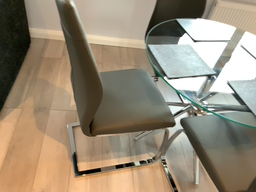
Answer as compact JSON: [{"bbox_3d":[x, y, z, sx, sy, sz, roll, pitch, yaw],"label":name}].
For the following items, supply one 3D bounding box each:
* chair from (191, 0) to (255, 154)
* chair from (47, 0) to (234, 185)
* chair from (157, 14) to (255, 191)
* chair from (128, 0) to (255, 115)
[{"bbox_3d":[0.950,-0.110,1.420,0.540,1.020,0.450,-4,47,-18],"label":"chair"},{"bbox_3d":[-0.070,-0.030,1.100,0.570,1.010,0.440,-7,48,-20],"label":"chair"},{"bbox_3d":[0.570,0.250,0.980,0.460,1.010,0.560,-3,47,-17],"label":"chair"},{"bbox_3d":[0.360,-0.400,1.570,0.440,1.010,0.520,-3,47,-17],"label":"chair"}]
